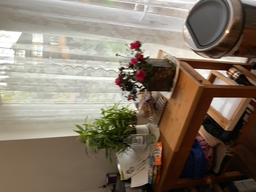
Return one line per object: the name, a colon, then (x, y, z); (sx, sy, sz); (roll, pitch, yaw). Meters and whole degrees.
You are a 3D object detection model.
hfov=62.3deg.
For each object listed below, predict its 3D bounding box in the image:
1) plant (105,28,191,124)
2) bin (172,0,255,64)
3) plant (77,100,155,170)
plant: (0.080, -0.130, 1.310); (0.400, 0.310, 0.430); (-117, 33, -51)
bin: (0.750, -0.460, 1.410); (0.400, 0.730, 0.350); (-117, 34, -52)
plant: (-0.120, 0.290, 1.660); (0.280, 0.500, 0.430); (-118, 34, -52)
